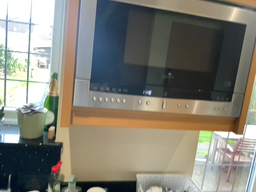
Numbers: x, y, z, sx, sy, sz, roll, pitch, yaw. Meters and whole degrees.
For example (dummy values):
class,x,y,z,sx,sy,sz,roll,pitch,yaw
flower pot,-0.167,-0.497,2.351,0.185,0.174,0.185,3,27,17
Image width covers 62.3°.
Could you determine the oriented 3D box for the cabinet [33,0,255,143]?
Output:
class,x,y,z,sx,sy,sz,roll,pitch,yaw
cabinet,0.120,-0.310,0.780,0.760,0.840,0.390,5,10,-14
